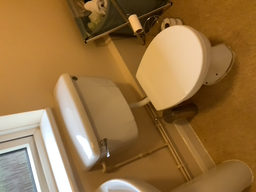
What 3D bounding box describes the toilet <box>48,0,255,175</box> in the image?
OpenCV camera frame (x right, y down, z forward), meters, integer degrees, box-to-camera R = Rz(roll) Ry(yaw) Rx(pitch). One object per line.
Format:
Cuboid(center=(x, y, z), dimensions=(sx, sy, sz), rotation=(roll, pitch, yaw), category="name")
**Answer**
Cuboid(center=(0.150, -0.080, 1.180), dimensions=(0.680, 0.900, 0.540), rotation=(-51, 58, 45), category="toilet")
